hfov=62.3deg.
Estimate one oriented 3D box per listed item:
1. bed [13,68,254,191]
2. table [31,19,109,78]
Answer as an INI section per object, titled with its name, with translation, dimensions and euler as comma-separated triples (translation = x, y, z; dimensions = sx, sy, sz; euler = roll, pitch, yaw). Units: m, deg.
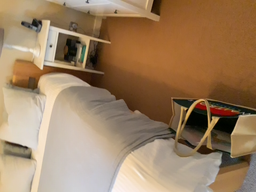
[bed]
translation = -0.400, 0.870, 1.900
dimensions = 2.100, 0.680, 1.790
euler = 27, 107, 50
[table]
translation = -0.640, -0.510, 2.350
dimensions = 0.350, 0.690, 0.470
euler = 27, 107, 50
